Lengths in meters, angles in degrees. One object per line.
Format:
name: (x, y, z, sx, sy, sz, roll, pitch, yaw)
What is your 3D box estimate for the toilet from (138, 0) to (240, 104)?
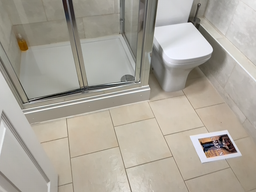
toilet: (0.380, -0.440, 1.690, 0.400, 0.780, 0.590, -10, 49, -11)
